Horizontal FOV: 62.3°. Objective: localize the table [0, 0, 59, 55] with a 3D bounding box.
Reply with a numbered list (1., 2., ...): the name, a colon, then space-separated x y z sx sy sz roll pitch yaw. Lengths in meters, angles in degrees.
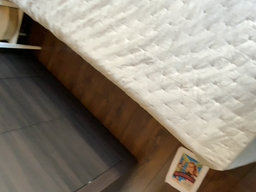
1. table: -1.040 -0.630 1.800 0.320 0.710 0.440 39 117 21
